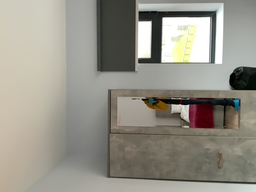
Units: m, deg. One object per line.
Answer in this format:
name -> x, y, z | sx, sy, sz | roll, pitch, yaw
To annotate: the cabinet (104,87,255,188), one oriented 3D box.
cabinet -> 0.770, 0.340, 1.990 | 0.530, 1.890, 0.780 | -9, -79, -86
